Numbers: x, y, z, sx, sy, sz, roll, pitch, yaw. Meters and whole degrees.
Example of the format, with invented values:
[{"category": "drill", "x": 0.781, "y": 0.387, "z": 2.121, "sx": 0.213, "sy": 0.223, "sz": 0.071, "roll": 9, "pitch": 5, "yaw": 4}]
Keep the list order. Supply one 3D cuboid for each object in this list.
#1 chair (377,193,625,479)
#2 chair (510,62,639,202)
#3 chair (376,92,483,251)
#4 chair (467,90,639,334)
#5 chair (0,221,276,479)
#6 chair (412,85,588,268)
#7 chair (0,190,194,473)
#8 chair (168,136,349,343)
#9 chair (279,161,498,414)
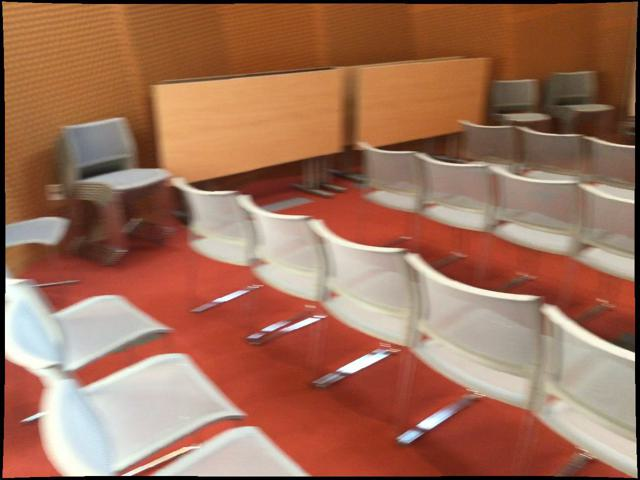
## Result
[{"category": "chair", "x": 0.579, "y": 0.310, "z": 2.010, "sx": 0.490, "sy": 0.691, "sz": 0.580, "roll": -24, "pitch": 36, "yaw": -32}, {"category": "chair", "x": 1.708, "y": -0.741, "z": 3.870, "sx": 0.570, "sy": 0.701, "sz": 0.520, "roll": -22, "pitch": 34, "yaw": -29}, {"category": "chair", "x": 0.639, "y": -0.420, "z": 3.470, "sx": 0.390, "sy": 0.771, "sz": 0.450, "roll": -24, "pitch": 36, "yaw": -32}, {"category": "chair", "x": 1.249, "y": -0.180, "z": 2.900, "sx": 0.610, "sy": 0.901, "sz": 0.700, "roll": -24, "pitch": 36, "yaw": -32}, {"category": "chair", "x": -0.559, "y": 0.450, "z": 1.750, "sx": 0.580, "sy": 0.731, "sz": 0.540, "roll": -24, "pitch": 36, "yaw": -32}, {"category": "chair", "x": 0.949, "y": -0.380, "z": 3.180, "sx": 0.560, "sy": 0.711, "sz": 0.660, "roll": -24, "pitch": 36, "yaw": -32}, {"category": "chair", "x": -0.899, "y": 0.310, "z": 2.180, "sx": 0.540, "sy": 0.751, "sz": 0.520, "roll": -24, "pitch": 36, "yaw": -32}, {"category": "chair", "x": -0.300, "y": -0.040, "z": 2.940, "sx": 0.560, "sy": 0.711, "sz": 0.680, "roll": -24, "pitch": 36, "yaw": -32}, {"category": "chair", "x": 0.260, "y": 0.150, "z": 2.360, "sx": 0.500, "sy": 0.681, "sz": 0.670, "roll": -24, "pitch": 36, "yaw": -32}]
